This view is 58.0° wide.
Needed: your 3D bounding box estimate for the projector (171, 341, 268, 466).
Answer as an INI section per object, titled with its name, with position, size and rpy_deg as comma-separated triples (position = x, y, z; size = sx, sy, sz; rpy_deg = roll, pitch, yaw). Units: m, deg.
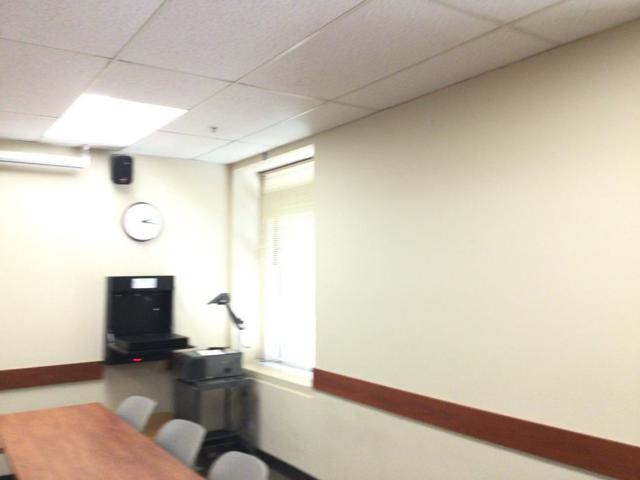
[projector]
position = -0.780, 1.220, 4.460
size = 0.550, 0.770, 0.550
rpy_deg = 0, -3, -34
